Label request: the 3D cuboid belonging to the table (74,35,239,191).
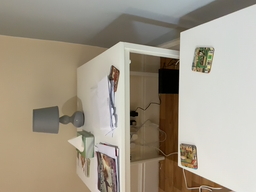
[{"bbox_3d":[0.110,0.150,1.360,0.790,0.720,0.790,1,91,62],"label":"table"}]
